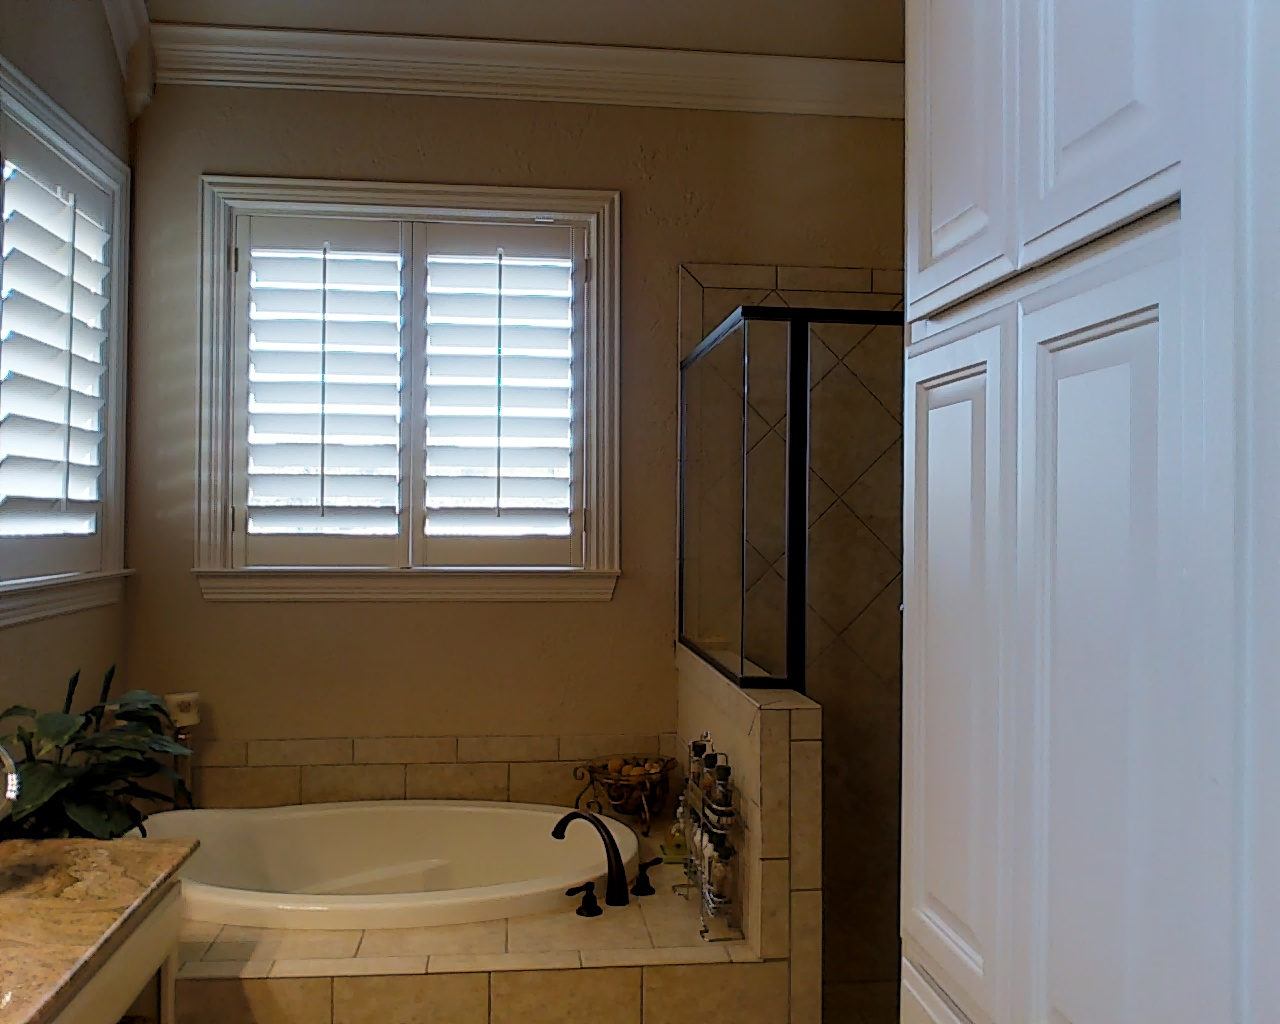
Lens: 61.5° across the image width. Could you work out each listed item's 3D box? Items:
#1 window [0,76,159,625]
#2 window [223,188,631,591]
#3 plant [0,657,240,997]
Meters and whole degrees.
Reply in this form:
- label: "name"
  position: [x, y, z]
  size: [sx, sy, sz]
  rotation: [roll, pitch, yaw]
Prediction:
- label: "window"
  position: [-1.539, -0.370, 2.980]
  size: [0.070, 1.280, 0.960]
  rotation: [0, -1, -6]
- label: "window"
  position: [-0.690, -0.390, 3.580]
  size: [1.310, 1.300, 0.090]
  rotation: [0, -1, -6]
- label: "plant"
  position: [-1.280, 0.700, 2.550]
  size: [0.490, 0.640, 0.570]
  rotation: [0, -1, -6]
